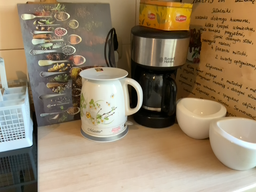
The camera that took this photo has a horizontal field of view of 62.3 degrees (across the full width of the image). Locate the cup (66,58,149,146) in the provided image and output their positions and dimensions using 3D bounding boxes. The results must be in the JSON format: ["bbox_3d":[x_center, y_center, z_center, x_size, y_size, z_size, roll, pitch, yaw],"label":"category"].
[{"bbox_3d":[-0.080,0.000,0.730,0.210,0.200,0.230,-8,25,-22],"label":"cup"}]

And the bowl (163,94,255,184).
[{"bbox_3d":[0.240,0.100,0.640,0.130,0.090,0.320,-6,24,-16],"label":"bowl"}]
